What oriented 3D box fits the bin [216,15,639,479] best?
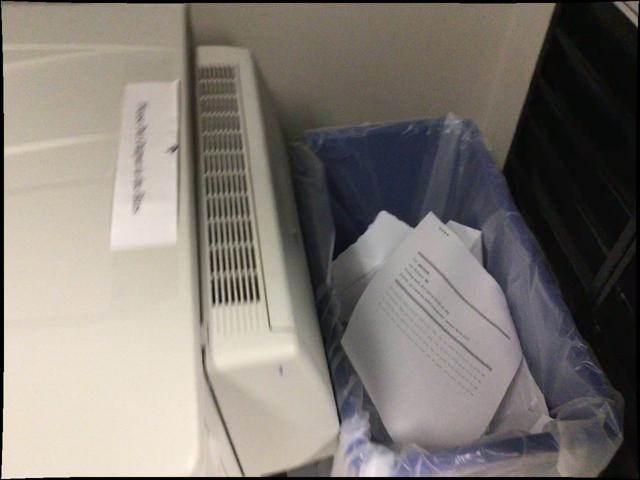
[{"bbox_3d":[0.160,0.261,0.900,0.449,0.891,0.681,-10,47,-6],"label":"bin"}]
